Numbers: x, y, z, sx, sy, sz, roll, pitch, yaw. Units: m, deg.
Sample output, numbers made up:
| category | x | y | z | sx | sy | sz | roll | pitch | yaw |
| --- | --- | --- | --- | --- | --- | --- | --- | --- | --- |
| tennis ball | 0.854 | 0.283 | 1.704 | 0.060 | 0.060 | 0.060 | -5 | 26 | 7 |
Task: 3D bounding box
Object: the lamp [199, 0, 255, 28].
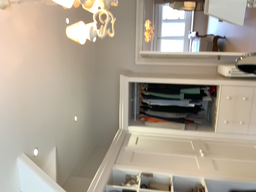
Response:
| category | x | y | z | sx | sy | sz | roll | pitch | yaw |
| --- | --- | --- | --- | --- | --- | --- | --- | --- | --- |
| lamp | 0.880 | -0.700 | 1.520 | 0.340 | 0.630 | 0.380 | -56 | -32 | -75 |
